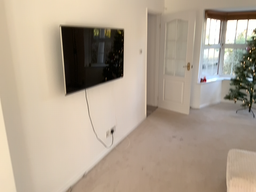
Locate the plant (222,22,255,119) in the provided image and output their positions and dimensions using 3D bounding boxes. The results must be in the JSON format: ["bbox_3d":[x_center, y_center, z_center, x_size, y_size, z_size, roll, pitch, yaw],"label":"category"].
[{"bbox_3d":[2.610,-0.530,4.230,1.040,1.770,0.920,9,19,30],"label":"plant"}]

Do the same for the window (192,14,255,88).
[{"bbox_3d":[2.690,-0.920,4.320,2.380,1.340,1.000,9,18,29],"label":"window"}]

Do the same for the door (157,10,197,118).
[{"bbox_3d":[0.940,-0.620,4.300,0.090,2.040,0.760,-15,22,-41],"label":"door"}]
